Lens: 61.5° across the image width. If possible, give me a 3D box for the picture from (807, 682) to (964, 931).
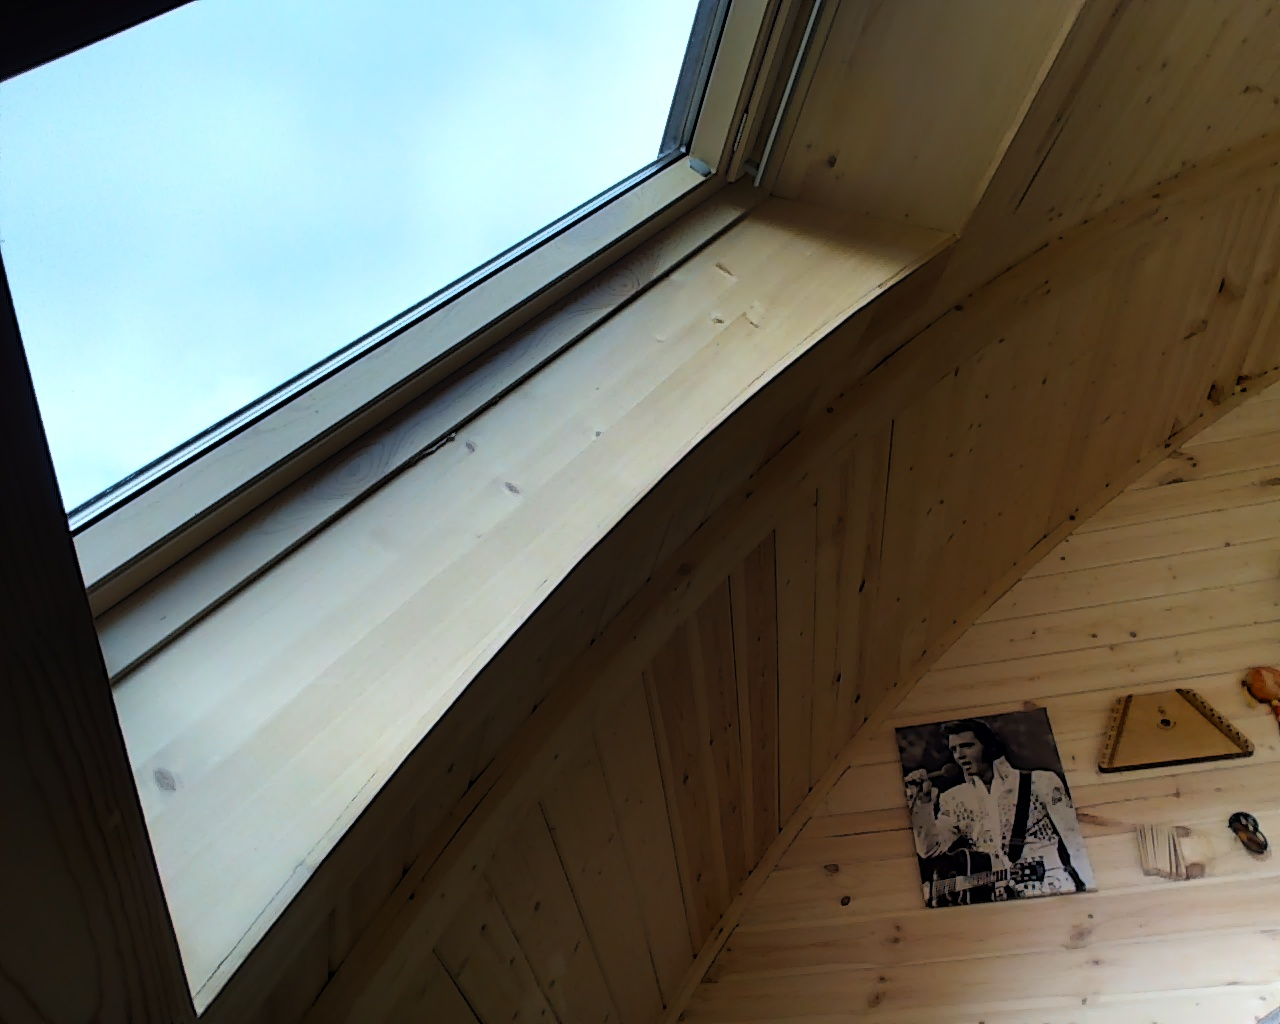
[{"bbox_3d":[0.640,0.790,2.900,0.070,0.530,0.420,24,-48,-24],"label":"picture"}]
